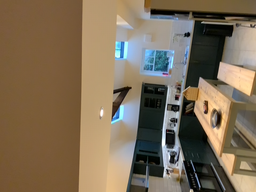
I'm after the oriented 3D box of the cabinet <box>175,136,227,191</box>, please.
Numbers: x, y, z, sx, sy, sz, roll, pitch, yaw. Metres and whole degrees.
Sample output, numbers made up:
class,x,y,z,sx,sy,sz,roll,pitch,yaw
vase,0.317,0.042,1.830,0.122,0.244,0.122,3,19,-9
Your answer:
class,x,y,z,sx,sy,sz,roll,pitch,yaw
cabinet,1.780,1.690,5.460,1.440,0.910,0.630,-63,-21,-74

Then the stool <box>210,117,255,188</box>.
class,x,y,z,sx,sy,sz,roll,pitch,yaw
stool,1.930,0.890,3.760,1.690,0.450,0.400,-64,-21,-74

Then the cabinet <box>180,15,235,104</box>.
class,x,y,z,sx,sy,sz,roll,pitch,yaw
cabinet,2.100,-0.970,5.810,0.610,0.940,2.220,-62,-22,-74

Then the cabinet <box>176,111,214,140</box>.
class,x,y,z,sx,sy,sz,roll,pitch,yaw
cabinet,1.960,0.860,6.290,0.600,0.910,0.580,-62,-22,-74
